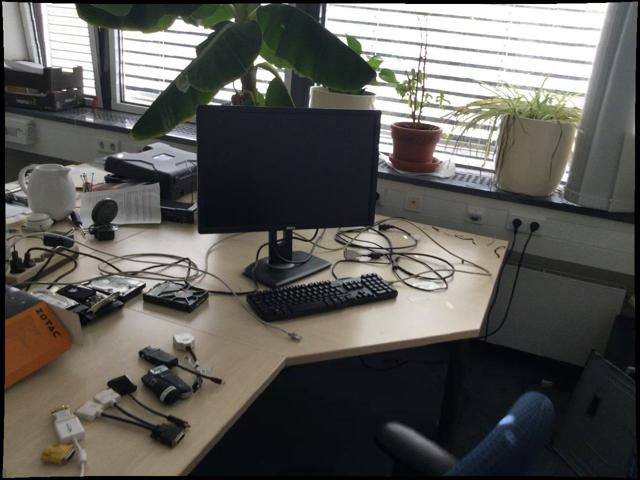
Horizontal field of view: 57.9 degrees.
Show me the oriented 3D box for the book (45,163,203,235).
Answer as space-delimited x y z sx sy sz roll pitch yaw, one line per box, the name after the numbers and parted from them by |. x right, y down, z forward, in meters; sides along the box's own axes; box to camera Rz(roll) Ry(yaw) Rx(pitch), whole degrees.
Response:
-0.729 -0.170 2.200 0.410 0.110 0.390 11 24 20 | book

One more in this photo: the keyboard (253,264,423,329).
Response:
0.050 0.150 1.630 0.440 0.030 0.190 -8 24 -23 | keyboard
